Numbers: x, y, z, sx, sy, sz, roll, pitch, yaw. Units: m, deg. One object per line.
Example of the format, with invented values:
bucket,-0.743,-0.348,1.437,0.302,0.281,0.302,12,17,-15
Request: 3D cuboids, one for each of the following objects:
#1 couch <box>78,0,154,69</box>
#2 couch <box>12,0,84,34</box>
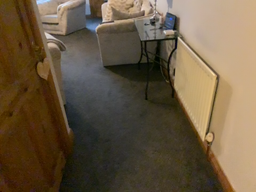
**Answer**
couch,-0.250,-1.360,3.980,1.020,0.770,2.150,-5,33,-4
couch,-1.970,-2.200,5.290,1.220,0.920,0.990,13,36,24
